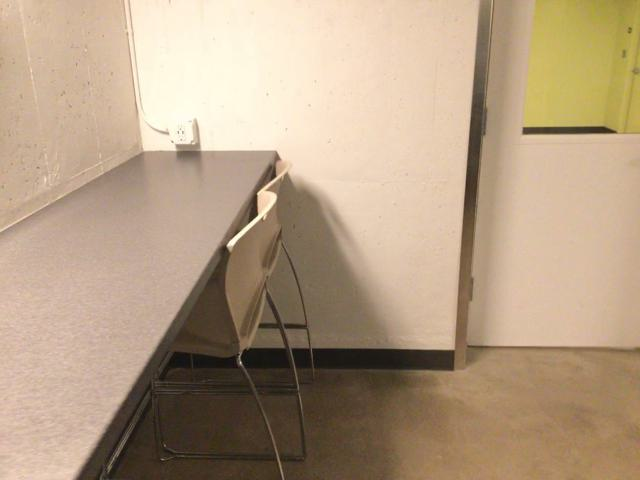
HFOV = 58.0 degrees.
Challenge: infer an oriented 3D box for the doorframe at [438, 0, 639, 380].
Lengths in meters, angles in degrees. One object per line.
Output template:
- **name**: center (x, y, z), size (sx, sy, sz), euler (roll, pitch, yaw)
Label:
- **doorframe**: center (1.100, -0.350, 2.370), size (1.180, 1.940, 0.220), euler (-2, 18, 4)
